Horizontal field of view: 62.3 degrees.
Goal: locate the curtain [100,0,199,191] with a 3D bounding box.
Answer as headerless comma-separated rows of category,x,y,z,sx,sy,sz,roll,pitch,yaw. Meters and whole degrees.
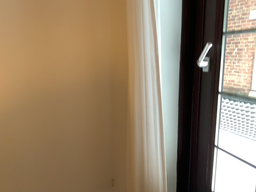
curtain,0.080,-0.420,0.940,0.350,2.240,0.280,-5,-167,-20
